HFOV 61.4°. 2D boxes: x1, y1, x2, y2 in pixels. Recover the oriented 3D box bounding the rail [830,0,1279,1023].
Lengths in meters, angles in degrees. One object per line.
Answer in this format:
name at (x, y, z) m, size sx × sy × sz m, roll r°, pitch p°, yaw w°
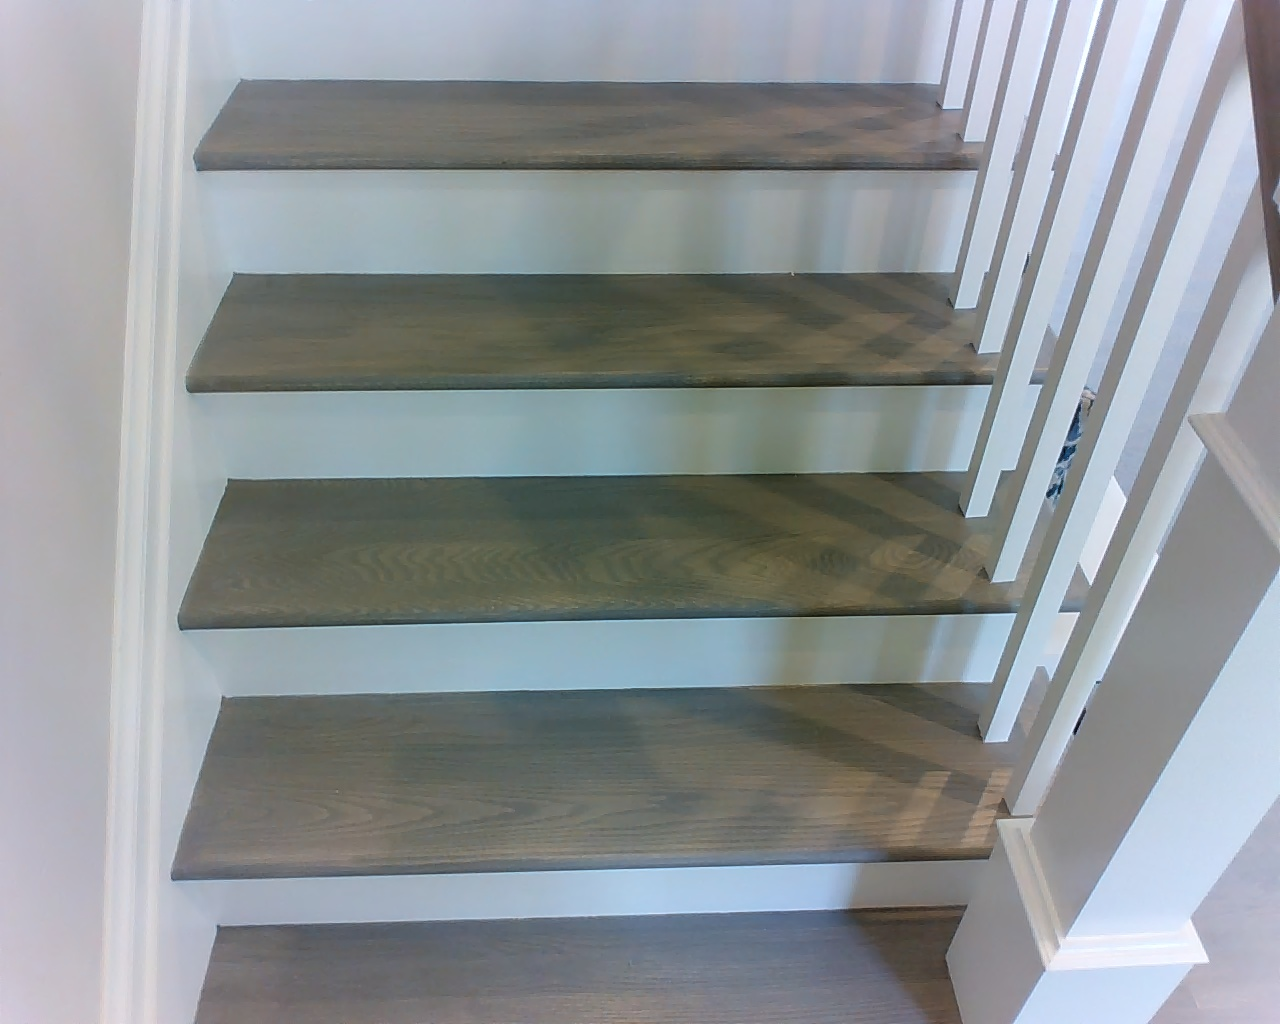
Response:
rail at (0.460, -1.210, 1.360) m, size 0.220 × 4.201 × 1.190 m, roll -1°, pitch -9°, yaw -2°
